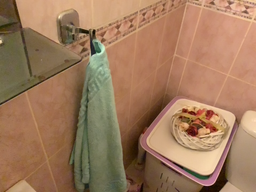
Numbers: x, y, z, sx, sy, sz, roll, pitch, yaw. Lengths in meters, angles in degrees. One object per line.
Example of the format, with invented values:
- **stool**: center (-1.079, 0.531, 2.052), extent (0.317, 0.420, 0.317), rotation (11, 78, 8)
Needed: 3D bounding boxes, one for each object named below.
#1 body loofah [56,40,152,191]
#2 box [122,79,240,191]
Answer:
- **body loofah**: center (-0.080, 0.220, 0.780), extent (0.130, 0.800, 0.210), rotation (27, 45, 22)
- **box**: center (0.240, 0.360, 1.190), extent (0.360, 0.750, 0.360), rotation (29, 46, 24)
